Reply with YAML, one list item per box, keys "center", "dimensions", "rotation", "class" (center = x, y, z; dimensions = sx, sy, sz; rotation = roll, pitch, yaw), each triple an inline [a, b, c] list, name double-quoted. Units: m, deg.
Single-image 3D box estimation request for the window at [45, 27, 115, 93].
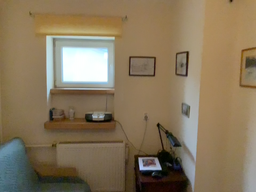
- center: [-0.610, -0.460, 2.820]
  dimensions: [0.860, 0.810, 0.280]
  rotation: [1, 6, -4]
  class: "window"
